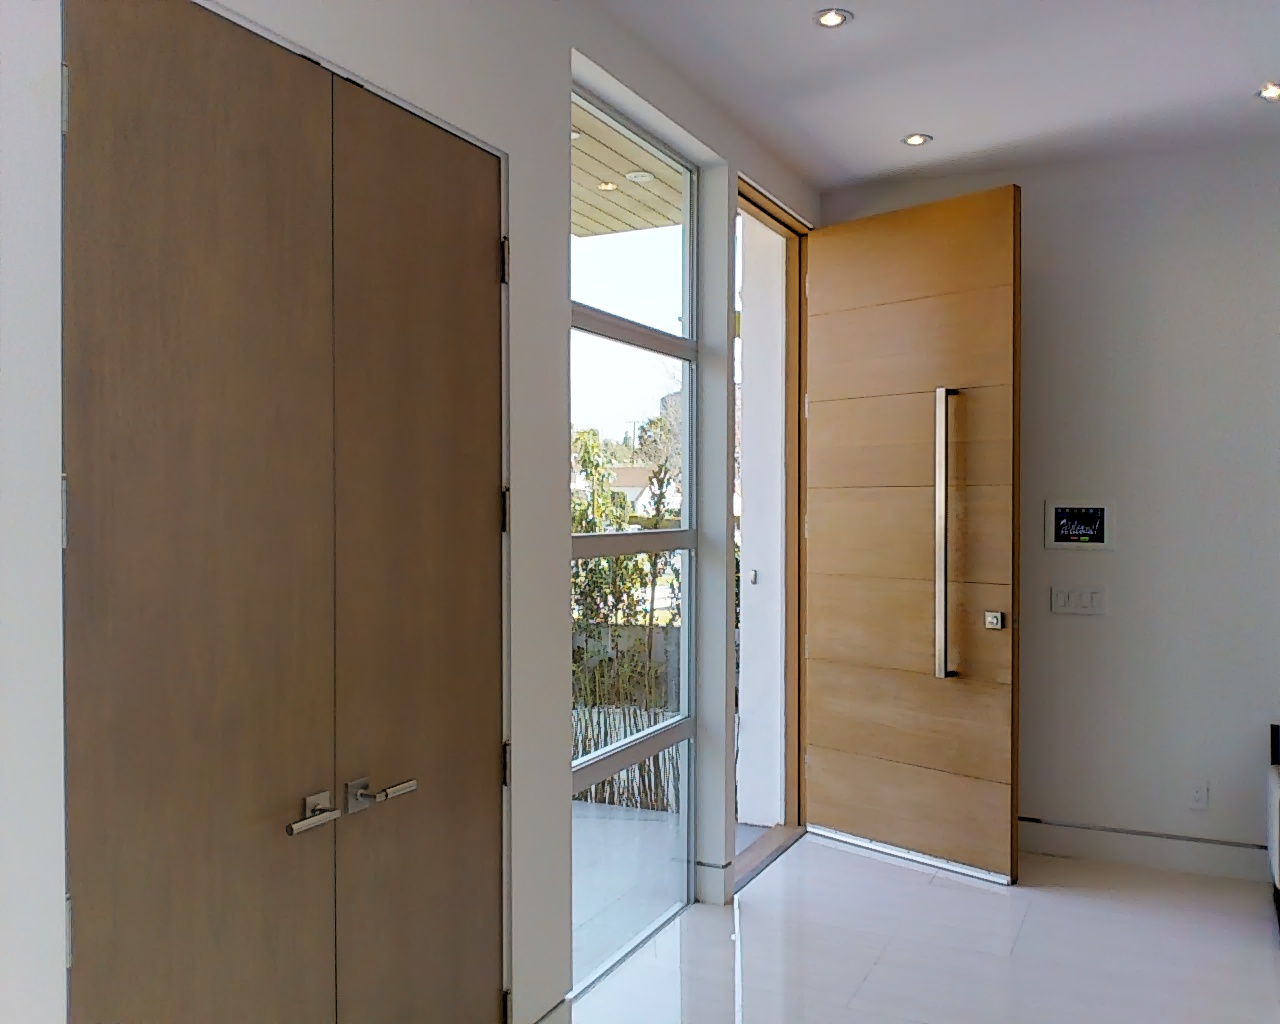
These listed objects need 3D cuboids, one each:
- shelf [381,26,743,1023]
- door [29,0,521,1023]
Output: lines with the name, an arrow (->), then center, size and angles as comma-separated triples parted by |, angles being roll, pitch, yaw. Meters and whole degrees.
shelf -> -0.190, 0.090, 3.770 | 0.640, 2.901, 1.390 | 0, 1, 27
door -> -0.620, 0.310, 2.220 | 0.040, 2.461, 1.300 | 0, 1, 27
